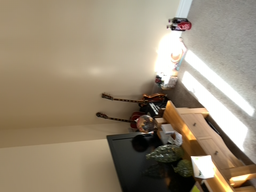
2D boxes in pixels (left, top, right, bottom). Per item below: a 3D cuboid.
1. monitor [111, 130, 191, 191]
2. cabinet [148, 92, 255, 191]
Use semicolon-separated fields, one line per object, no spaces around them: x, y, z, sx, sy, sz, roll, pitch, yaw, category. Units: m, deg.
0.200;0.680;2.080;0.960;0.600;0.040;-111;27;-53;monitor
0.710;0.600;2.190;1.360;0.420;0.610;-117;32;-50;cabinet
